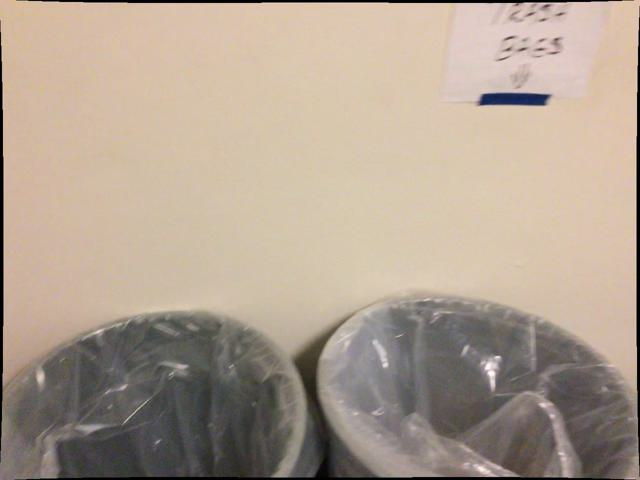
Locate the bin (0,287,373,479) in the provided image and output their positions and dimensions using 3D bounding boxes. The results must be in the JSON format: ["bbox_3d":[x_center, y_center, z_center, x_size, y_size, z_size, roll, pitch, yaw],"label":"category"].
[{"bbox_3d":[-0.260,0.560,1.130,0.619,0.680,0.580,-4,32,-7],"label":"bin"}]
